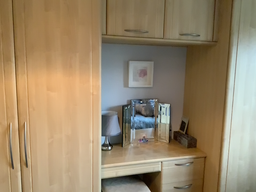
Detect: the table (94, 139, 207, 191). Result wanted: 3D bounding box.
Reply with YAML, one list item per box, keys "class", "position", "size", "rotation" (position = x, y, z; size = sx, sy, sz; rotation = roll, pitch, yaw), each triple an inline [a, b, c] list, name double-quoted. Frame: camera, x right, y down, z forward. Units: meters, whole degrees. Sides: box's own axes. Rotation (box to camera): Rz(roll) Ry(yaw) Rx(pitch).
- class: "table"
  position: [0.180, 0.860, 2.020]
  size: [0.950, 0.720, 0.430]
  rotation: [-1, 9, -17]

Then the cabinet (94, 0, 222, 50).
- class: "cabinet"
  position: [0.220, -0.730, 1.790]
  size: [0.950, 0.600, 0.490]
  rotation: [-1, 9, -17]

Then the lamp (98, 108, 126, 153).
- class: "lamp"
  position: [-0.150, 0.310, 1.950]
  size: [0.210, 0.350, 0.210]
  rotation: [-1, 8, -18]
